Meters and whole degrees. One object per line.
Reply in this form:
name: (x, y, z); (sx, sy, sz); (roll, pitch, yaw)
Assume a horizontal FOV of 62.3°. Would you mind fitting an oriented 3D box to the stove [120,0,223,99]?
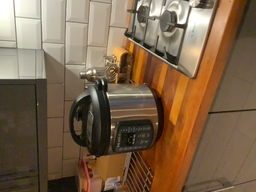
stove: (0.120, -0.400, 0.720); (0.570, 0.030, 0.630); (-129, 43, -55)
